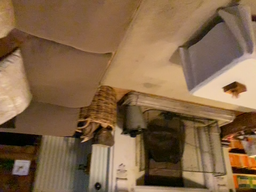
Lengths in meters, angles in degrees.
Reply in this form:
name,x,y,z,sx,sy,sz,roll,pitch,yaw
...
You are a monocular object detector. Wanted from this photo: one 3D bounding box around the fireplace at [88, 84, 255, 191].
name,x,y,z,sx,sy,sz,roll,pitch,yaw
fireplace,0.550,0.800,2.720,1.880,1.300,0.910,10,153,-18
